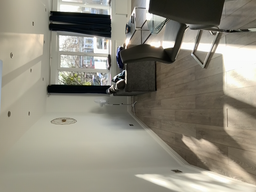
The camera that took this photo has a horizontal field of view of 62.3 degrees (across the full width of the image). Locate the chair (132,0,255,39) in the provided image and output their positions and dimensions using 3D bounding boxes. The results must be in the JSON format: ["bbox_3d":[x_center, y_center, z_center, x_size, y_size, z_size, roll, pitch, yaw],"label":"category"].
[{"bbox_3d":[0.610,-0.780,1.780,0.550,1.020,0.470,-115,29,-66],"label":"chair"}]
